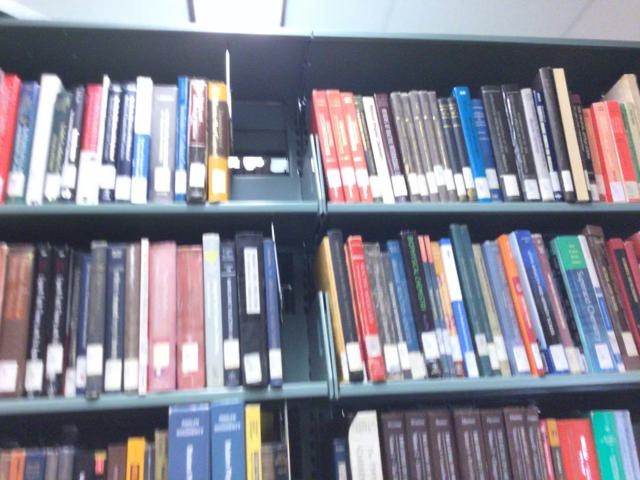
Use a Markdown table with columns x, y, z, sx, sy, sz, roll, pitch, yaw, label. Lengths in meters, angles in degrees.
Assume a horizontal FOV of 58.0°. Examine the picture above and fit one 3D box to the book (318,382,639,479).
| x | y | z | sx | sy | sz | roll | pitch | yaw | label |
| --- | --- | --- | --- | --- | --- | --- | --- | --- | --- |
| 0.430 | 0.390 | 0.960 | 0.820 | 0.250 | 0.230 | -3 | -23 | -10 | book |
